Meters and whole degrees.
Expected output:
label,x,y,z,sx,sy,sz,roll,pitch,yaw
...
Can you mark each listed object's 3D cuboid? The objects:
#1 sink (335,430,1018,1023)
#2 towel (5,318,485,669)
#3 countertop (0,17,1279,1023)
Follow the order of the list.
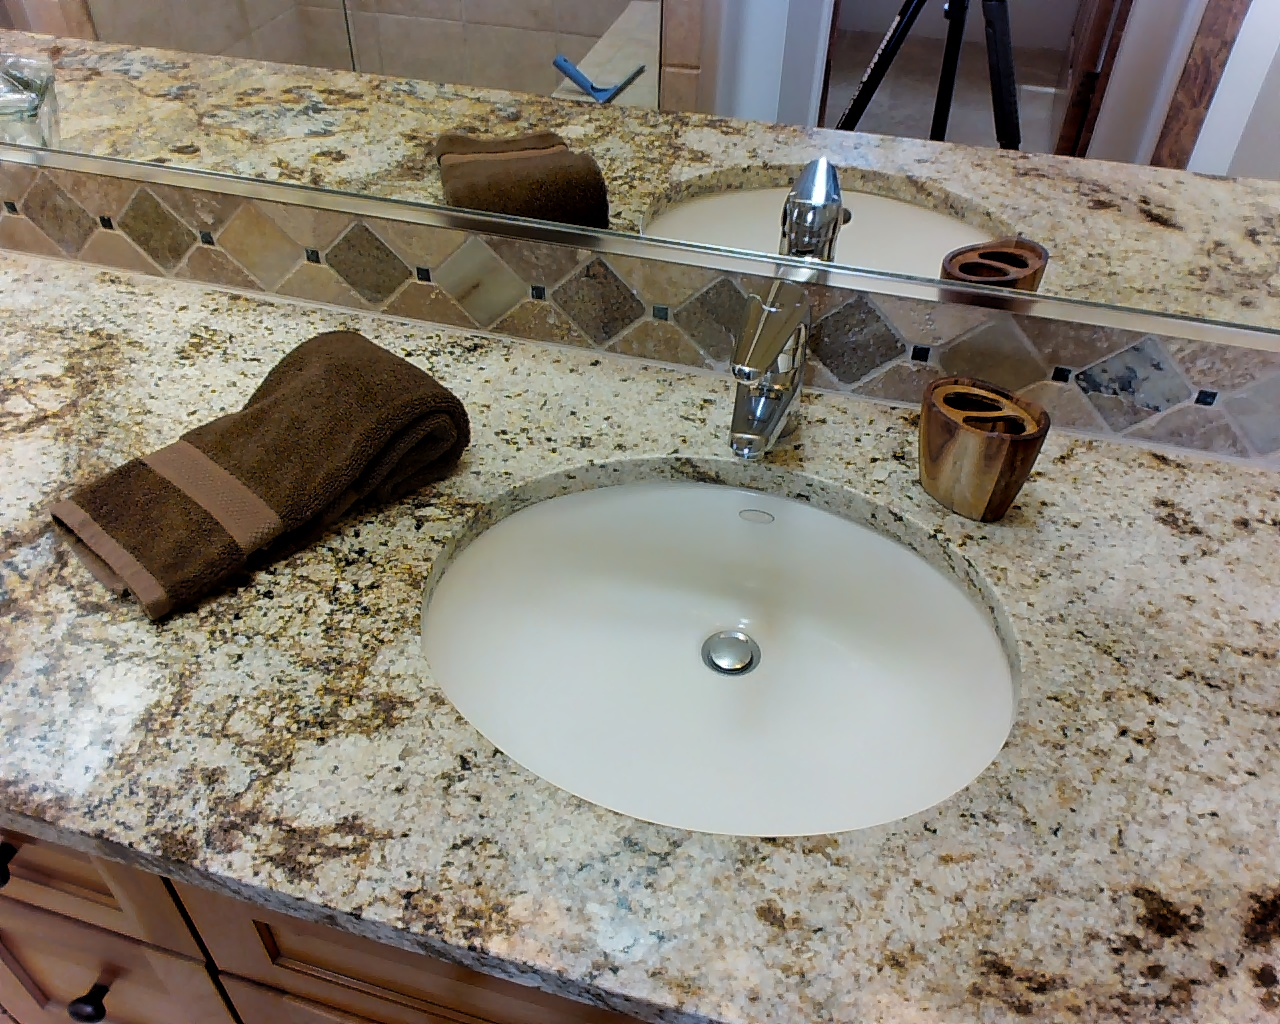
label,x,y,z,sx,sy,sz,roll,pitch,yaw
sink,0.050,0.140,0.820,0.420,0.180,0.330,11,42,10
towel,-0.290,-0.030,0.820,0.290,0.080,0.170,-32,51,-32
countertop,-1.090,-0.230,0.990,3.681,0.290,0.740,11,42,10
